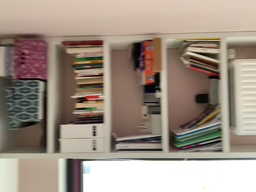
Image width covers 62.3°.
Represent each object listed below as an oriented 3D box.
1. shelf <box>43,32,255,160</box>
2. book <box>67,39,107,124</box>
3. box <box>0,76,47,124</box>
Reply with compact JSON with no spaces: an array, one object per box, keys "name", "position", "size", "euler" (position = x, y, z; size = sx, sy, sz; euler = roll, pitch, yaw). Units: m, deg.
[{"name":"shelf","position":[0.590,0.000,1.550],"size":[0.260,2.330,0.840],"euler":[45,-136,-87]},{"name":"book","position":[-0.290,-0.100,1.560],"size":[0.210,0.240,0.580],"euler":[35,-126,-88]},{"name":"box","position":[-0.700,0.020,1.440],"size":[0.180,0.220,0.300],"euler":[-64,-27,-86]}]
